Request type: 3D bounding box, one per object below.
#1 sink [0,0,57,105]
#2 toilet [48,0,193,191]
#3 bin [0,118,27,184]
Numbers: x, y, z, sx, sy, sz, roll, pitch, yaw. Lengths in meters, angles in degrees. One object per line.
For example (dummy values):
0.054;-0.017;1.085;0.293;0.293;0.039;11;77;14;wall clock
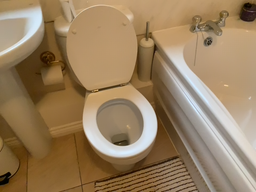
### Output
-0.600;-0.170;0.820;0.570;0.170;0.480;-13;46;-10;sink
-0.080;0.010;1.090;0.390;0.810;0.650;-13;46;-10;toilet
-0.740;0.320;1.200;0.200;0.270;0.220;-20;48;-17;bin
